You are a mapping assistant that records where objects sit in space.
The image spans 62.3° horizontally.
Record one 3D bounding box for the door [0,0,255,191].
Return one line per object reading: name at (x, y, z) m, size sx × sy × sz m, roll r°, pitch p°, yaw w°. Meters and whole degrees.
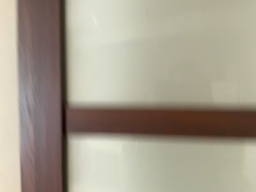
door at (0.170, 0.530, 0.580) m, size 0.970 × 2.000 × 0.180 m, roll 0°, pitch 4°, yaw 9°
